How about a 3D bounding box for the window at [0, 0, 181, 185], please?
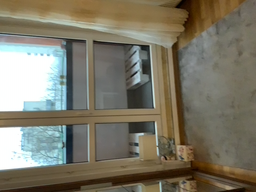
[{"bbox_3d":[-0.600,-0.110,2.500,0.220,2.420,1.960,145,123,-67],"label":"window"}]
